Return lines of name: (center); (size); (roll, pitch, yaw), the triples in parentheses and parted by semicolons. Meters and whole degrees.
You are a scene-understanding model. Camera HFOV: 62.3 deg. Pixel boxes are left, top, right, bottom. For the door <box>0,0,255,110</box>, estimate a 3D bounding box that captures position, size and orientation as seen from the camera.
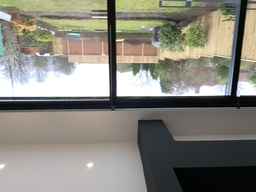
door: (0.580, -1.070, 2.400); (4.950, 2.500, 0.100); (0, -166, -2)
